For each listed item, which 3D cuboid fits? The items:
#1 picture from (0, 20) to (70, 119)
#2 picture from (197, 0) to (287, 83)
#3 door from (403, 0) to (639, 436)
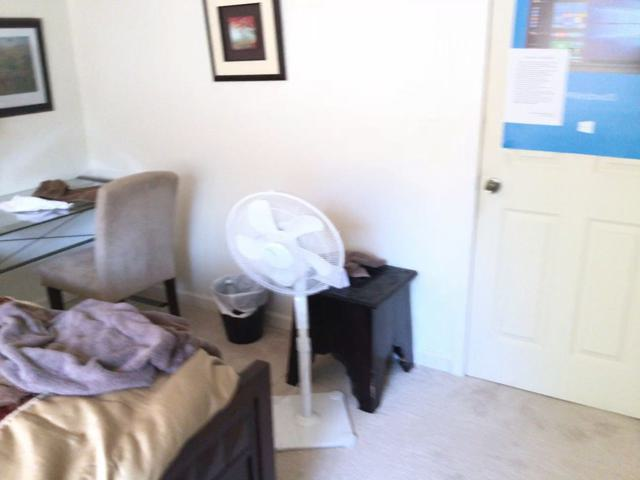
[{"bbox_3d":[-1.570,-0.850,2.880,0.100,0.460,0.600,13,23,29],"label":"picture"},{"bbox_3d":[-0.370,-0.970,2.710,0.450,0.440,0.060,8,21,31],"label":"picture"},{"bbox_3d":[0.930,-0.350,2.100,1.170,2.150,0.120,12,23,29],"label":"door"}]
